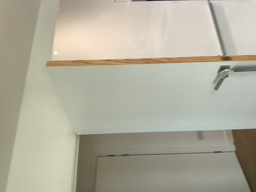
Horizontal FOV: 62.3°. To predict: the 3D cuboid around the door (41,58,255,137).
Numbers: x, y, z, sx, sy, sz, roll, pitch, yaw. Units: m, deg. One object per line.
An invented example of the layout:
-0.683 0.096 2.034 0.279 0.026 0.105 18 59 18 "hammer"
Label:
0.520 0.060 1.520 0.850 1.980 0.040 90 178 -54 "door"
